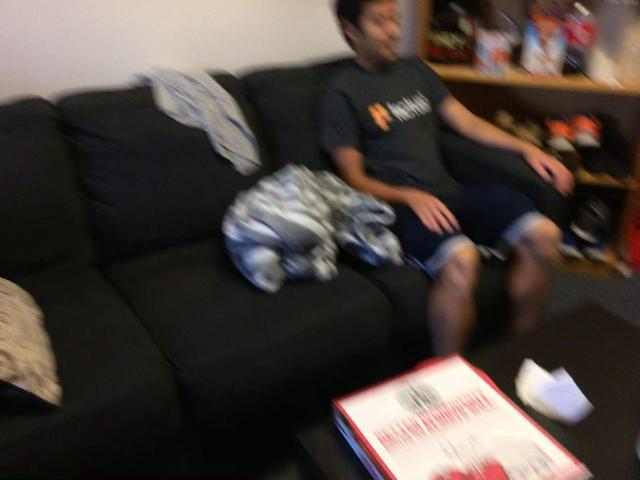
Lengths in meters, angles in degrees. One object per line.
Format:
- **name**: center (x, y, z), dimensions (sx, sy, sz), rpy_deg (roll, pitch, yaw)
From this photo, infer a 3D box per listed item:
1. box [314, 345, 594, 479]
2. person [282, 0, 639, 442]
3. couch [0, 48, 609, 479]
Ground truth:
- **box**: center (0.230, 0.370, 1.060), dimensions (0.340, 0.070, 0.360), rpy_deg (-16, 31, -30)
- **person**: center (0.390, -0.170, 1.890), dimensions (0.610, 1.090, 0.950), rpy_deg (-16, 31, -30)
- **couch**: center (-0.320, 0.050, 1.710), dimensions (2.110, 0.920, 0.980), rpy_deg (-16, 31, -30)
